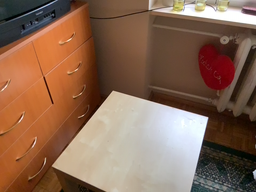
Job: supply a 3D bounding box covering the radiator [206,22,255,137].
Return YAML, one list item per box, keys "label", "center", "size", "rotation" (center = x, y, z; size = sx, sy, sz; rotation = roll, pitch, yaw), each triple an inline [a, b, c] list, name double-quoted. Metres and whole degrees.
- label: "radiator"
  center: [0.880, -0.070, 1.420]
  size: [0.500, 0.690, 0.250]
  rotation: [16, 44, 19]
